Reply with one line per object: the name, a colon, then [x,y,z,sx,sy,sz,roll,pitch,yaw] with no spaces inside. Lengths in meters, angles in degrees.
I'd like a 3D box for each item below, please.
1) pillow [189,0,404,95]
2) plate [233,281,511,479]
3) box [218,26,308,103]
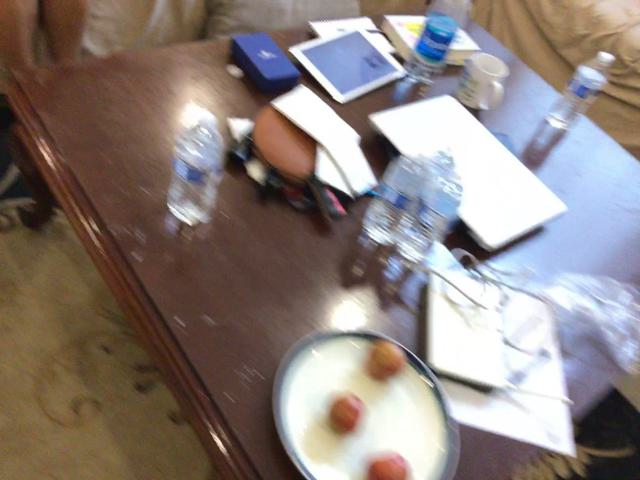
pillow: [-0.060,-0.680,1.770,0.610,0.250,0.230,-25,65,-33]
plate: [0.070,0.220,0.770,0.270,0.070,0.250,-25,65,-33]
box: [-0.120,-0.370,1.210,0.110,0.050,0.160,-25,65,-33]
